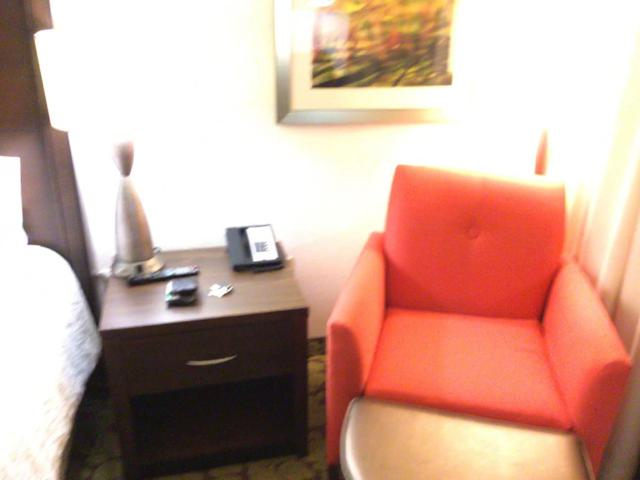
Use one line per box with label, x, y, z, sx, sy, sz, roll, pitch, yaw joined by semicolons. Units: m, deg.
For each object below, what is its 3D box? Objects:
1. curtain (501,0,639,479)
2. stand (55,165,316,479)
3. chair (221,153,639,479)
curtain;0.950;0.010;1.690;0.280;1.520;0.760;-6;26;-12
stand;-0.410;0.260;1.960;0.670;0.840;0.570;-6;26;-12
chair;0.410;0.380;1.640;0.890;0.880;1.220;6;26;13
